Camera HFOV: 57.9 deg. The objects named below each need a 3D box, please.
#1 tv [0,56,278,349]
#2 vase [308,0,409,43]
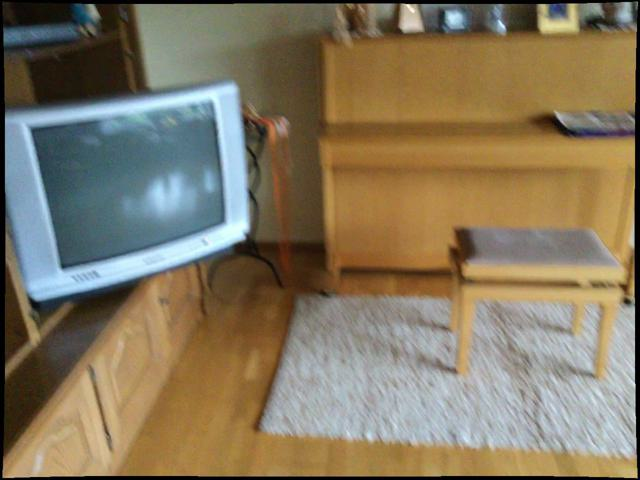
[{"bbox_3d":[-0.699,-0.210,1.910,0.880,0.600,0.640,-22,33,-35],"label":"tv"},{"bbox_3d":[0.170,-1.191,2.470,0.410,0.610,0.390,1,26,5],"label":"vase"}]
